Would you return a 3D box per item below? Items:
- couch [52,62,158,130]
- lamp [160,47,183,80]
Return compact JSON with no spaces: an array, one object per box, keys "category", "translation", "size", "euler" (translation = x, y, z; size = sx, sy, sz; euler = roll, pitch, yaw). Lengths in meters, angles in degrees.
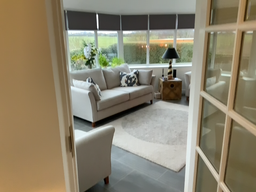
[{"category":"couch","translation":[-0.390,-0.160,4.650],"size":[1.110,0.900,2.030],"euler":[13,21,38]},{"category":"lamp","translation":[1.100,-0.840,5.450],"size":[0.440,0.790,0.450],"euler":[-1,16,-3]}]
